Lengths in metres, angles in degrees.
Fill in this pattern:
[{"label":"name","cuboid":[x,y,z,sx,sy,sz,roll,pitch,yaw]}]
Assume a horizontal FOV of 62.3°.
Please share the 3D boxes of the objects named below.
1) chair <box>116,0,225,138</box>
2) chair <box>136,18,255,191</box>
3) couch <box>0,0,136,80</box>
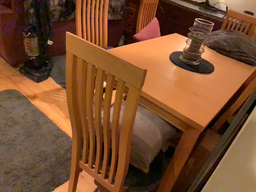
[{"label":"chair","cuboid":[0.310,-0.250,1.930,0.420,1.070,0.540,-21,46,-42]},{"label":"chair","cuboid":[0.480,0.130,1.400,0.540,1.090,0.340,33,37,27]},{"label":"couch","cuboid":[-0.920,-1.050,2.820,0.940,0.900,1.890,34,38,28]}]
